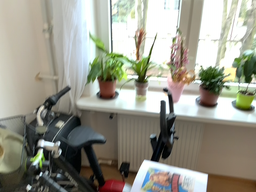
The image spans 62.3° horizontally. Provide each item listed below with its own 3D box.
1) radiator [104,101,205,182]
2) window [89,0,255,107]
[{"bbox_3d":[0.210,0.400,1.920,0.820,0.590,0.190,7,25,13],"label":"radiator"},{"bbox_3d":[0.460,-0.820,1.550,1.490,1.780,0.220,5,25,8],"label":"window"}]
